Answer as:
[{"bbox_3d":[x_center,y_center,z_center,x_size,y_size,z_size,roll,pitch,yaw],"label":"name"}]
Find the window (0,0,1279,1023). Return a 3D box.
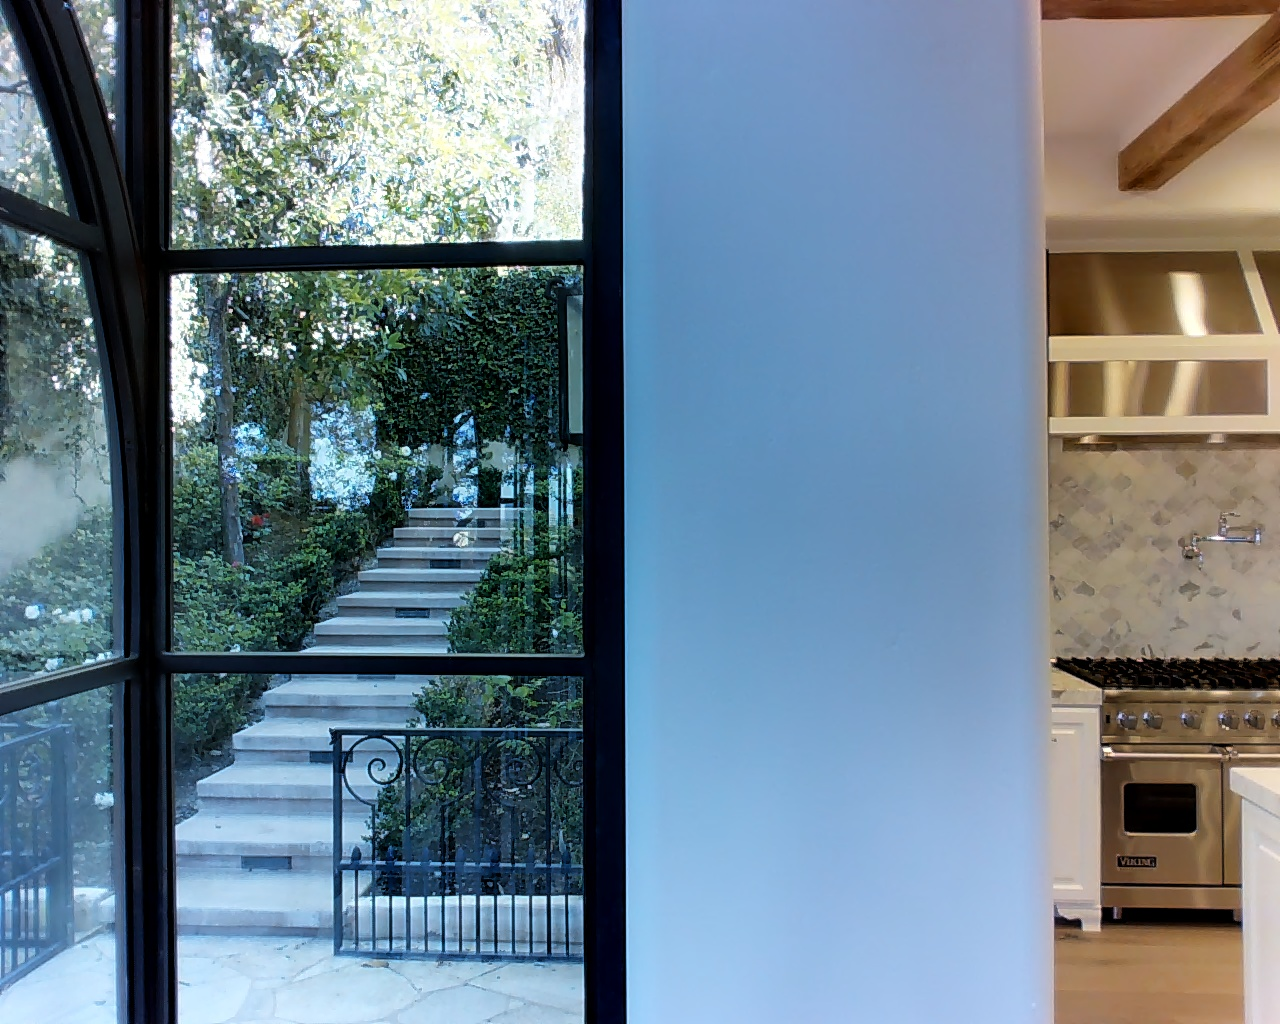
[{"bbox_3d":[-0.170,0.220,0.240,0.940,2.831,1.700,0,0,5],"label":"window"}]
